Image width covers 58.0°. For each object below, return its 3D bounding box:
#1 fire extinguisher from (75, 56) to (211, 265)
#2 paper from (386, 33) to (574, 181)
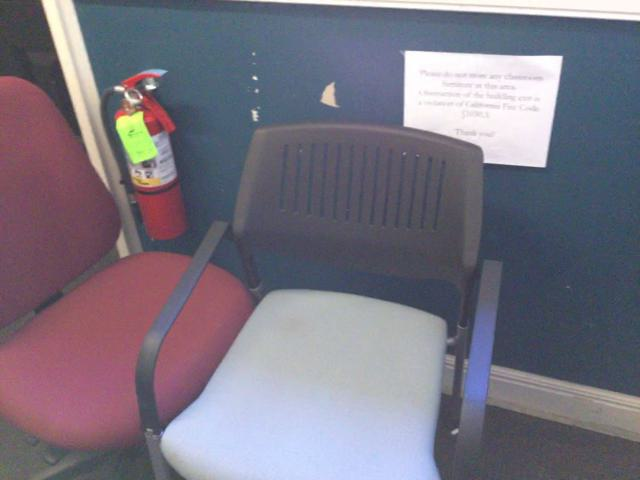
[{"bbox_3d":[-0.410,-0.180,1.400,0.190,0.470,0.130,12,39,17],"label":"fire extinguisher"},{"bbox_3d":[0.290,-0.250,1.100,0.300,0.220,0.030,17,40,14],"label":"paper"}]
